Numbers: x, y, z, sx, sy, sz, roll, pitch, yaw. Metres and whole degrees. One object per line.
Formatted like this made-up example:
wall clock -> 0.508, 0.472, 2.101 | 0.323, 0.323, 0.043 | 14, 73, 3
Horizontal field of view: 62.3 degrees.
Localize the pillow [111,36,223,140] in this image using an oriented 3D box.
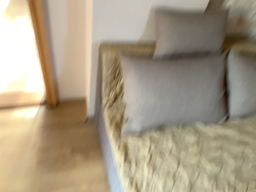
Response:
pillow -> 0.220, 0.000, 1.130 | 0.500, 0.360, 0.190 | 36, 29, -43
